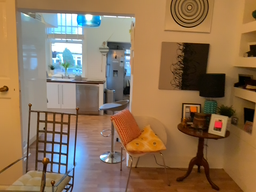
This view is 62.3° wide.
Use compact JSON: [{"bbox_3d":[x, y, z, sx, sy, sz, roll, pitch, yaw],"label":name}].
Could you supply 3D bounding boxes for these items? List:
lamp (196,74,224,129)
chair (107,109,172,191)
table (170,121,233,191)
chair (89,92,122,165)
[{"bbox_3d":[1.040,0.060,2.720,0.200,0.670,0.230,2,10,-1],"label":"lamp"},{"bbox_3d":[0.140,0.650,2.680,0.580,0.820,0.520,10,13,36],"label":"chair"},{"bbox_3d":[0.900,0.740,2.720,0.550,0.690,0.550,2,10,-1],"label":"table"},{"bbox_3d":[-0.320,0.460,3.190,0.430,0.970,0.490,2,10,-1],"label":"chair"}]
